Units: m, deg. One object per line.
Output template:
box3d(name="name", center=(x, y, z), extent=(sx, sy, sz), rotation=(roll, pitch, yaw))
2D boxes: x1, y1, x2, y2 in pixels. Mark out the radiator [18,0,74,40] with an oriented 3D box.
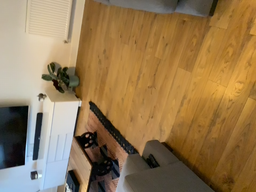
box3d(name="radiator", center=(-1.140, -1.200, 2.990), extent=(0.120, 0.680, 0.710), rotation=(37, 120, 47))
